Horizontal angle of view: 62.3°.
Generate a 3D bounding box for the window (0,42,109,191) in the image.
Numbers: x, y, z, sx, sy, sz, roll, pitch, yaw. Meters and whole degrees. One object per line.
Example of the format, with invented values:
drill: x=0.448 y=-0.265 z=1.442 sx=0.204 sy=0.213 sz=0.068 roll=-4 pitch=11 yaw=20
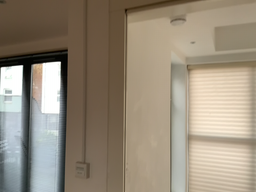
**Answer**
window: x=-1.620 y=0.490 z=3.130 sx=2.920 sy=2.240 sz=0.170 roll=0 pitch=-2 yaw=24
